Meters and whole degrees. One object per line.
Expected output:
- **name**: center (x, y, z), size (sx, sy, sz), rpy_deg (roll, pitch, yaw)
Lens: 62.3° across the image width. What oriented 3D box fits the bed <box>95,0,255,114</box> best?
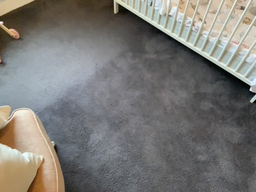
- **bed**: center (0.590, -0.840, 1.640), size (1.780, 0.800, 0.780), rpy_deg (41, 64, 21)
